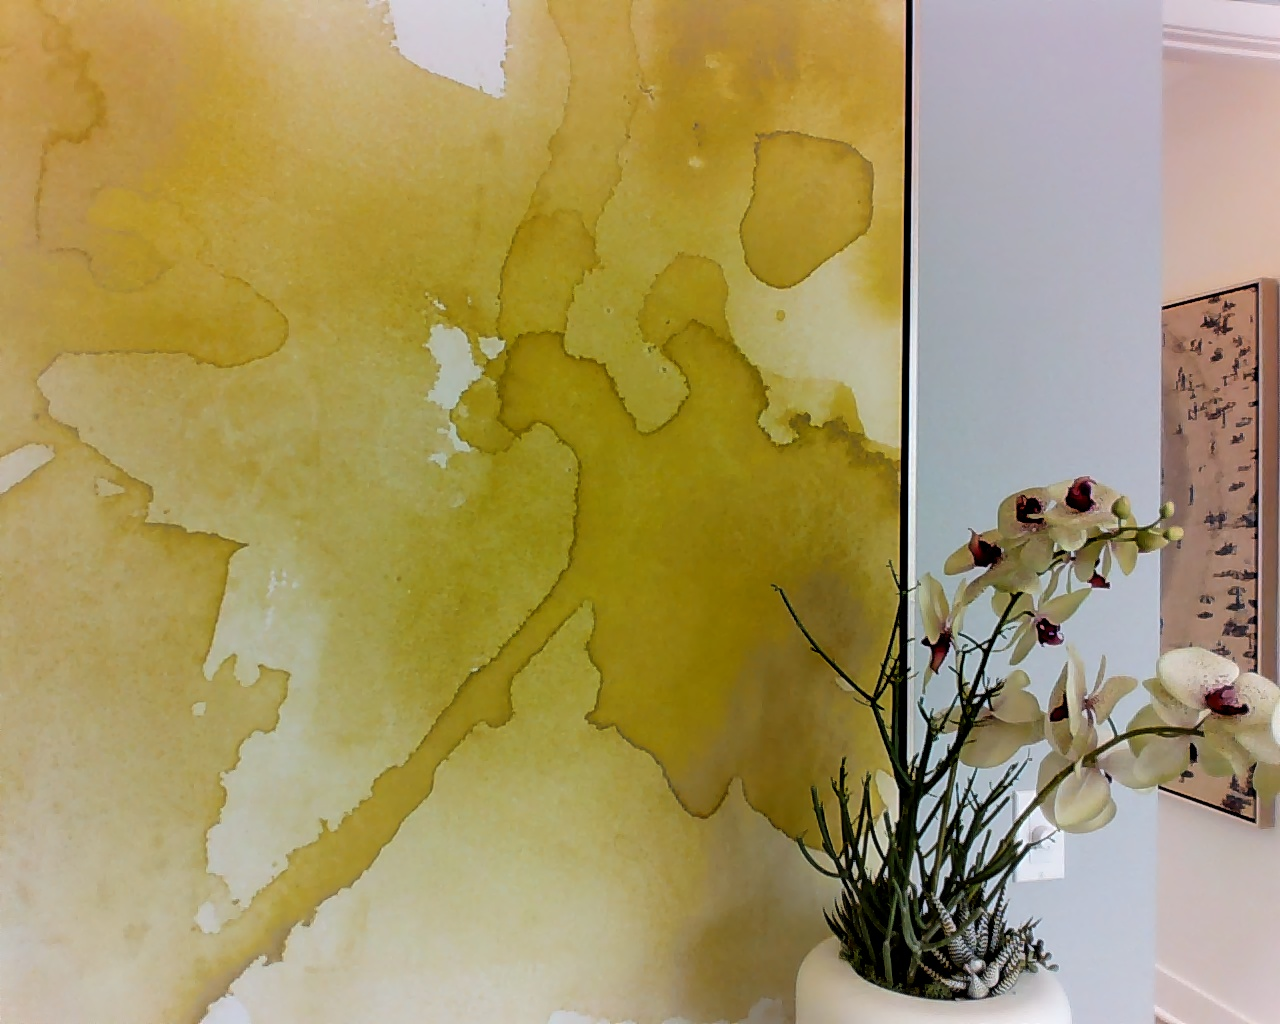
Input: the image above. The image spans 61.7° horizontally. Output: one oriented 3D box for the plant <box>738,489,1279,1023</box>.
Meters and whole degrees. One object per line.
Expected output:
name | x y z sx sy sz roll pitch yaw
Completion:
plant | 0.380 0.320 0.950 0.510 0.670 0.270 1 0 32
